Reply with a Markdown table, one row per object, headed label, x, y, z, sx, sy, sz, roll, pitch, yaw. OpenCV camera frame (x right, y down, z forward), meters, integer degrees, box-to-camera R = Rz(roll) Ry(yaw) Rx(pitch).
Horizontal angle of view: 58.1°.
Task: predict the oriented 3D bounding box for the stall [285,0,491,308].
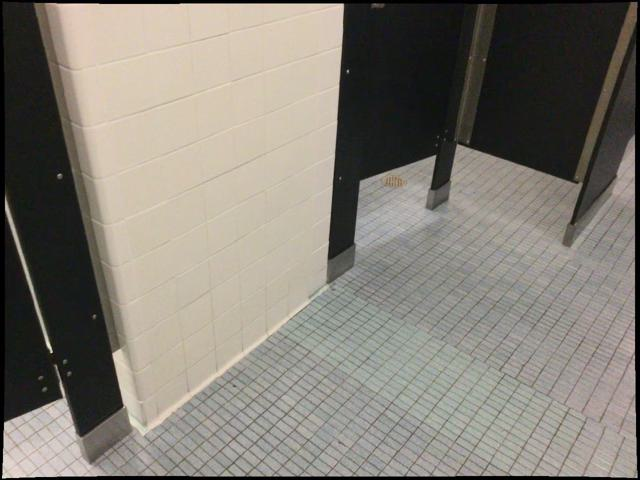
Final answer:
| label | x | y | z | sx | sy | sz | roll | pitch | yaw |
| --- | --- | --- | --- | --- | --- | --- | --- | --- | --- |
| stall | 0.279 | -0.481 | 2.160 | 0.160 | 1.142 | 1.059 | 25 | 39 | 30 |

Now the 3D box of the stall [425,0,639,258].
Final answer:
| label | x | y | z | sx | sy | sz | roll | pitch | yaw |
| --- | --- | --- | --- | --- | --- | --- | --- | --- | --- |
| stall | 0.848 | -0.571 | 2.320 | 0.639 | 1.122 | 0.290 | 25 | 39 | 30 |
